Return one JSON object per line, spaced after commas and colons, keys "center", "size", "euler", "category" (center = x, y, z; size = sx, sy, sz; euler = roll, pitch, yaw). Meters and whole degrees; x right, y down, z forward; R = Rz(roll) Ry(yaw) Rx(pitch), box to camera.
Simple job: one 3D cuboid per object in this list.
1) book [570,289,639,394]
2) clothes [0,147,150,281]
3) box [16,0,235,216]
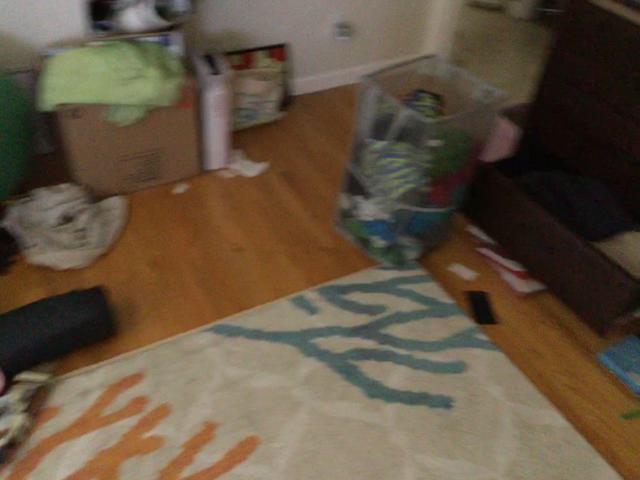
{"center": [1.000, 0.310, 1.810], "size": [0.280, 0.090, 0.270], "euler": [-17, 41, -24], "category": "book"}
{"center": [-0.910, -0.120, 2.110], "size": [0.420, 0.160, 0.490], "euler": [-17, 41, -24], "category": "clothes"}
{"center": [-0.730, -0.690, 2.160], "size": [0.600, 0.930, 0.550], "euler": [-17, 41, -24], "category": "box"}
